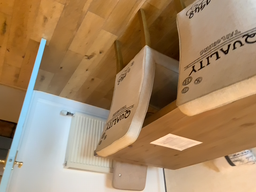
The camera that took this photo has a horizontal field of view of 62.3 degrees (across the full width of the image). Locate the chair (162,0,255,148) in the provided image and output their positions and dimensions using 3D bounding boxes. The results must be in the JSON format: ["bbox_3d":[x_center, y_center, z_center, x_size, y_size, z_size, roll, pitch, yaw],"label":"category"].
[{"bbox_3d":[0.520,-0.320,1.040,0.590,0.960,0.380,26,140,-35],"label":"chair"}]
